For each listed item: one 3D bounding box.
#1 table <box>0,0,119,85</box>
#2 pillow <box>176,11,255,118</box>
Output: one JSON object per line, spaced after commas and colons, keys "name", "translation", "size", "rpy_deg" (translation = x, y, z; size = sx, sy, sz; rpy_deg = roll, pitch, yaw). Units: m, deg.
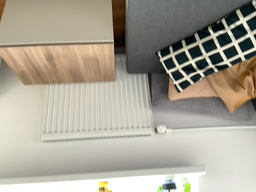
{"name": "table", "translation": [-0.370, -0.360, 1.320], "size": [0.610, 0.410, 0.400], "rpy_deg": [-3, 154, -3]}
{"name": "pillow", "translation": [0.600, -0.140, 1.220], "size": [0.470, 0.330, 0.570], "rpy_deg": [-2, 154, -3]}
